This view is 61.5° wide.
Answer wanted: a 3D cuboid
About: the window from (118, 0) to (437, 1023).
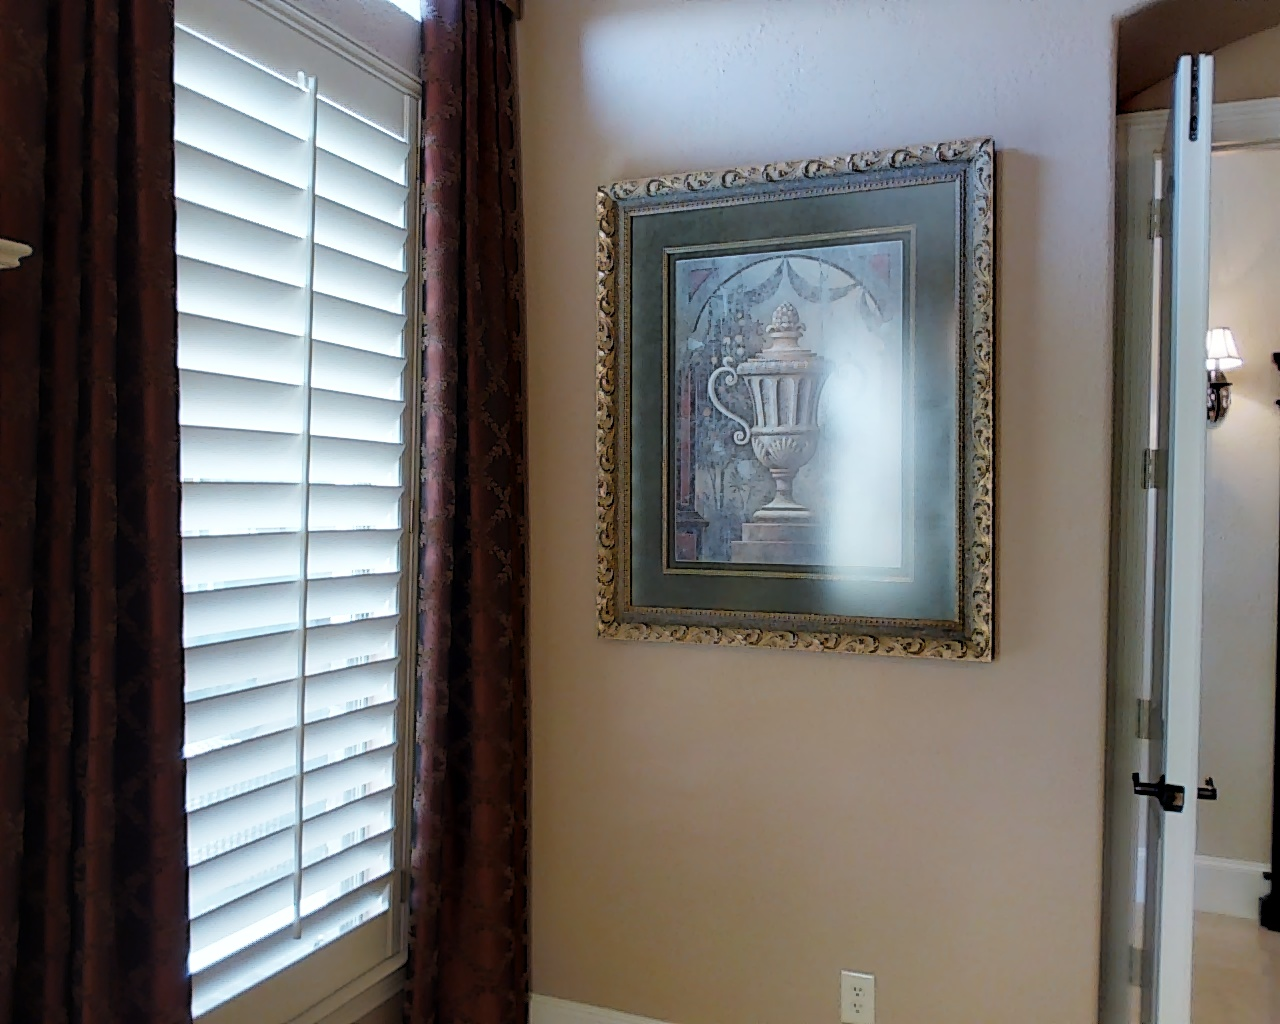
[{"bbox_3d":[-0.710,-0.020,2.260,0.060,2.521,0.840,1,0,23],"label":"window"}]
